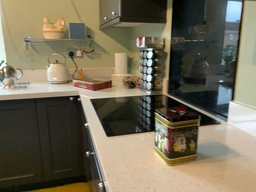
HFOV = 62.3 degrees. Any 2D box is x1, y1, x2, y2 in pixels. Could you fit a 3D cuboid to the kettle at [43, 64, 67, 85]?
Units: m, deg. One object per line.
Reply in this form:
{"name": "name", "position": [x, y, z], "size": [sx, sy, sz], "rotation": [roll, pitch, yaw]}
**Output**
{"name": "kettle", "position": [-0.630, -0.190, 1.860], "size": [0.180, 0.150, 0.210], "rotation": [-4, 14, -16]}
